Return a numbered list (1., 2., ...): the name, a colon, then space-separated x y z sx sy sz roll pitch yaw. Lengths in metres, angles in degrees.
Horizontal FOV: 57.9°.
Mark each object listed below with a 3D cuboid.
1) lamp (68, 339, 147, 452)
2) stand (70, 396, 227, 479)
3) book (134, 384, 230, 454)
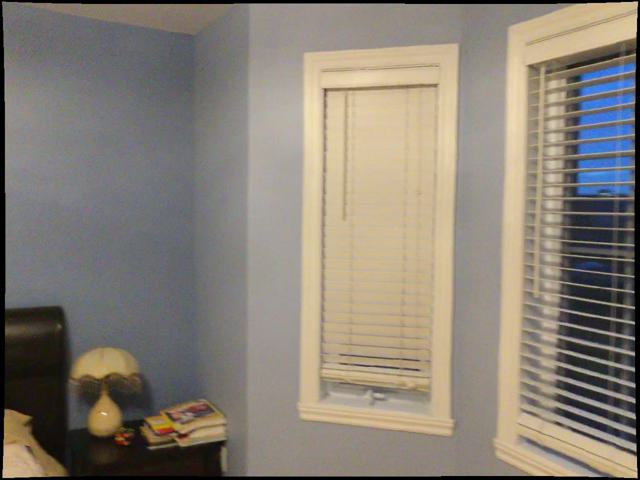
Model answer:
1. lamp: -0.999 0.711 2.710 0.290 0.400 0.300 -3 6 -28
2. stand: -0.799 1.081 2.680 0.600 0.470 0.500 -3 6 -28
3. book: -0.669 0.841 2.770 0.340 0.120 0.440 -3 6 -28
